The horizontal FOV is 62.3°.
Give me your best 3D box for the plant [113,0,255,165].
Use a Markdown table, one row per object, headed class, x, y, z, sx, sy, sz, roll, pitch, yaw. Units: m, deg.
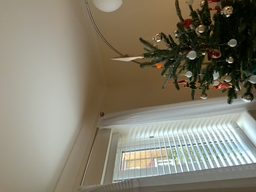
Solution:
| class | x | y | z | sx | sy | sz | roll | pitch | yaw |
| --- | --- | --- | --- | --- | --- | --- | --- | --- | --- |
| plant | 0.900 | -0.370 | 1.420 | 0.920 | 1.800 | 1.100 | -88 | -11 | -61 |
